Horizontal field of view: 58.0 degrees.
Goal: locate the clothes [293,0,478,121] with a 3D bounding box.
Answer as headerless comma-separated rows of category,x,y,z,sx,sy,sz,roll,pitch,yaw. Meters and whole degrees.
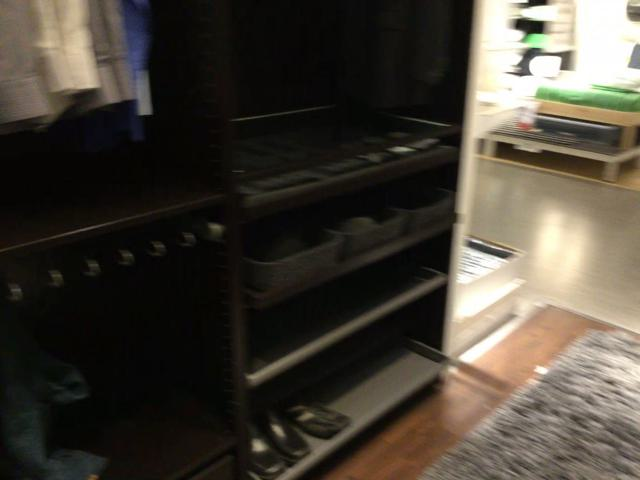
clothes,0.190,-0.800,1.770,0.280,0.770,0.510,-21,29,-40
